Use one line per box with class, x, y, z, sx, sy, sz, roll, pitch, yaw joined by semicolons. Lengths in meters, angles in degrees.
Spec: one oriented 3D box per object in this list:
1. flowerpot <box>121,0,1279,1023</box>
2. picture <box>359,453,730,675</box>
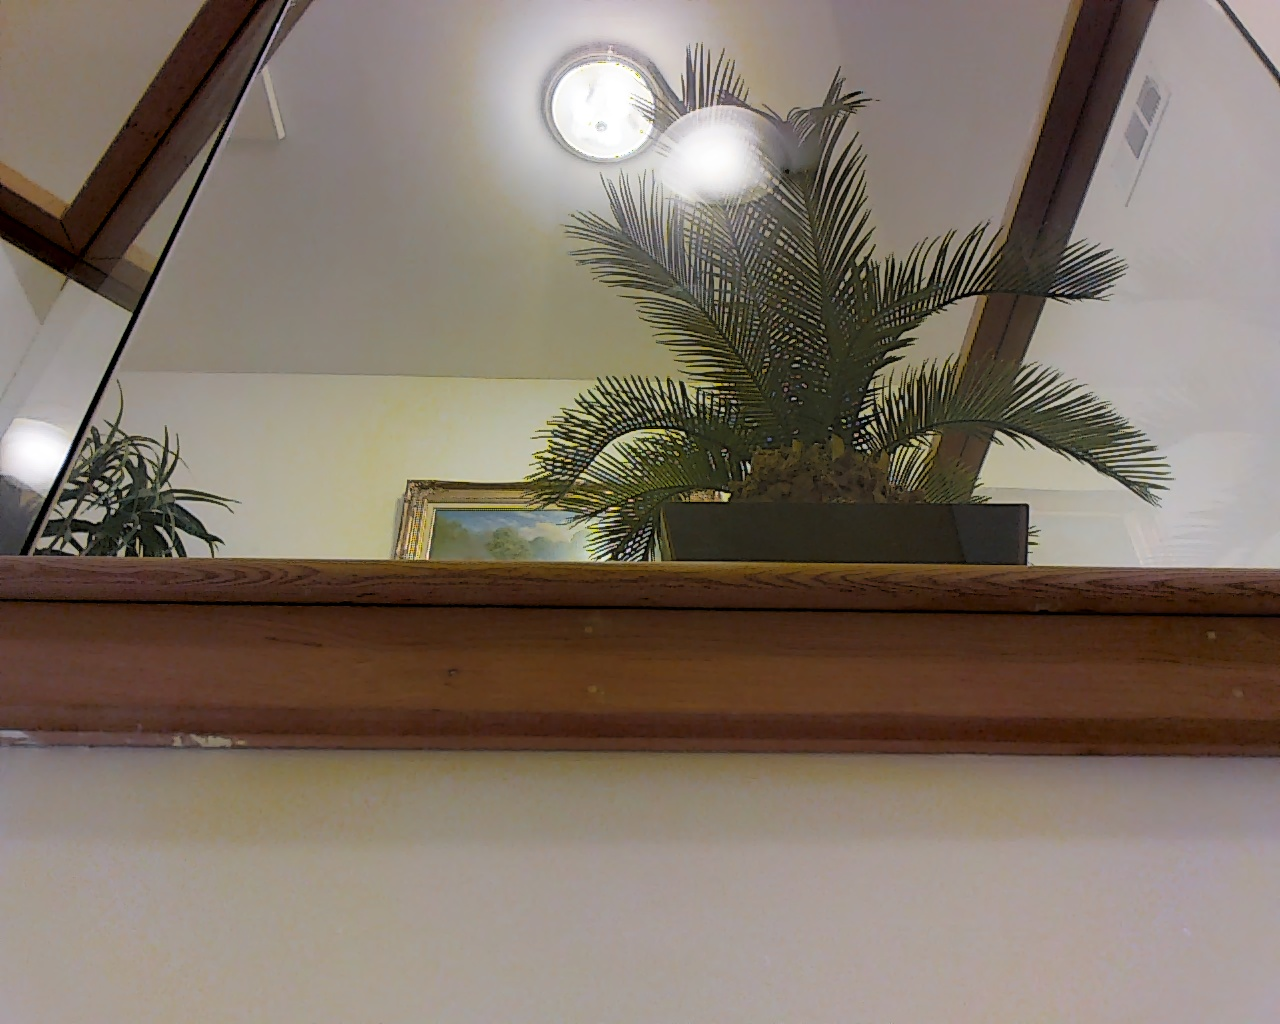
flowerpot;0.200;0.040;1.160;0.710;0.780;1.010;-14;-42;16
picture;-0.290;0.150;3.560;1.130;0.850;0.070;1;-40;-1
